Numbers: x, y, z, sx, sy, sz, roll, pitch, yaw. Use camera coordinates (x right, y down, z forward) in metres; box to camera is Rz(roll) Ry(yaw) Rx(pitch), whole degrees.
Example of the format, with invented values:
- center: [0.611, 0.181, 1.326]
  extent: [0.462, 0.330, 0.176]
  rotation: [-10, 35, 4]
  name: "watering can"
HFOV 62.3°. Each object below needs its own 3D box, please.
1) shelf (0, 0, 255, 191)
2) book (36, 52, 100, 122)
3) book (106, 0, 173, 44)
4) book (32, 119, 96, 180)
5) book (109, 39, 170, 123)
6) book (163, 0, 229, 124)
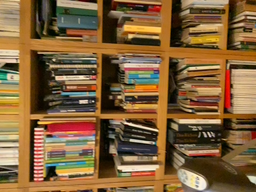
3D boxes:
- center: [-0.240, 0.240, 1.440]
  extent: [0.440, 2.470, 4.250]
  rotation: [-162, 73, -79]
  name: "shelf"
- center: [-0.350, -0.050, 1.300]
  extent: [0.310, 0.330, 0.370]
  rotation: [-167, 79, -79]
  name: "book"
- center: [0.060, -0.540, 1.390]
  extent: [0.300, 0.370, 0.320]
  rotation: [-156, 68, -78]
  name: "book"
- center: [-0.380, 0.310, 1.320]
  extent: [0.290, 0.340, 0.280]
  rotation: [-149, 61, -78]
  name: "book"
- center: [0.060, -0.090, 1.420]
  extent: [0.300, 0.330, 0.490]
  rotation: [-162, 73, -79]
  name: "book"
- center: [0.460, -0.250, 1.490]
  extent: [0.290, 0.300, 0.850]
  rotation: [-162, 73, -79]
  name: "book"
